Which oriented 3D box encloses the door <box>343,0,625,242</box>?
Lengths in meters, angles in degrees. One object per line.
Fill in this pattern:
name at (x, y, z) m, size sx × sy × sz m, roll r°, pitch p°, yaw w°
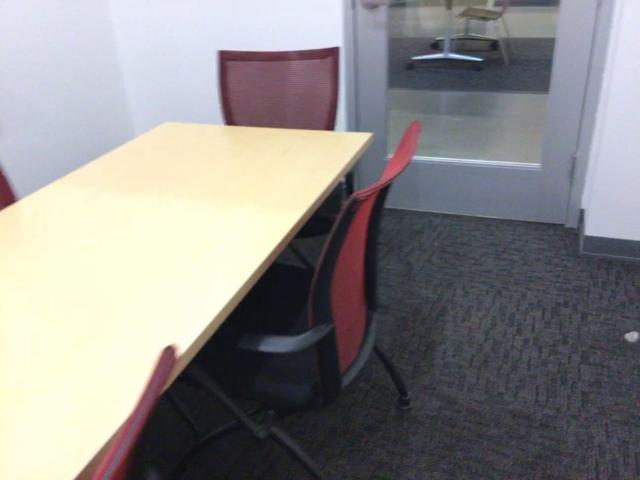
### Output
door at (0.590, -1.360, 2.100) m, size 1.080 × 2.850 × 0.180 m, roll 10°, pitch 32°, yaw 24°
